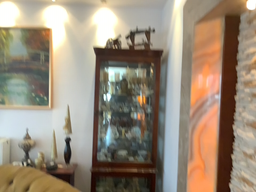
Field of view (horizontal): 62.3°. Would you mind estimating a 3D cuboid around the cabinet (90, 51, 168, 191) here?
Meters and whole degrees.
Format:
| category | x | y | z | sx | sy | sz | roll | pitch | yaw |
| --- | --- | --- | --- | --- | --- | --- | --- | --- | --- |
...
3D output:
| category | x | y | z | sx | sy | sz | roll | pitch | yaw |
| --- | --- | --- | --- | --- | --- | --- | --- | --- | --- |
| cabinet | -0.020 | 0.570 | 2.100 | 0.650 | 1.920 | 0.350 | 2 | 2 | -4 |
